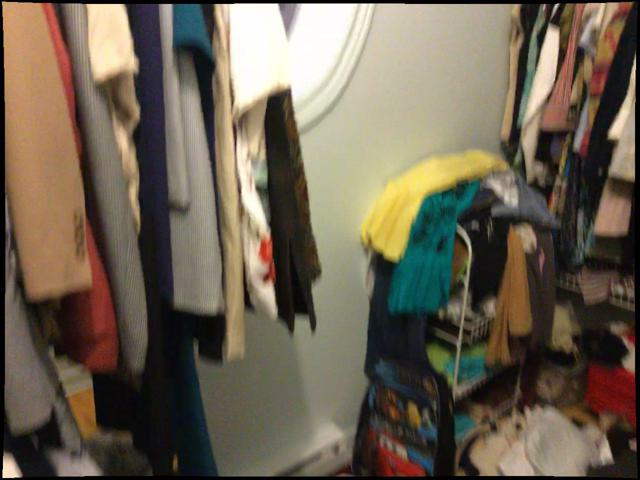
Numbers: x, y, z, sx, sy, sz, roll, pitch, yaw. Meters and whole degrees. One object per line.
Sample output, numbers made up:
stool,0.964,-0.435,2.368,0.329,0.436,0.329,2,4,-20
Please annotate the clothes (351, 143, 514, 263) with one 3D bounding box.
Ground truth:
clothes,0.350,-0.130,1.770,0.490,0.240,0.200,-16,24,-34

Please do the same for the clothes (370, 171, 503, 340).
clothes,0.340,0.030,1.710,0.320,0.390,0.210,-16,24,-34

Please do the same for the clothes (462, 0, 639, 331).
clothes,1.089,-0.360,1.710,0.630,1.111,1.100,-16,24,-34
